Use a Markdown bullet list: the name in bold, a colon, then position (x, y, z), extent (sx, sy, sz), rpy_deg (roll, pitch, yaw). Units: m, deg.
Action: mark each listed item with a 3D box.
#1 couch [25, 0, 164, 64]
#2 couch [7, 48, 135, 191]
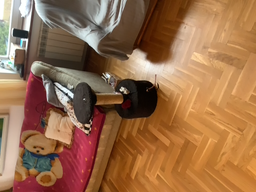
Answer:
- **couch**: position (-0.350, -0.990, 2.070), extent (0.980, 0.890, 0.890), rpy_deg (48, 125, 39)
- **couch**: position (-0.900, 0.680, 2.760), extent (1.150, 0.820, 2.190), rpy_deg (40, 119, 43)
